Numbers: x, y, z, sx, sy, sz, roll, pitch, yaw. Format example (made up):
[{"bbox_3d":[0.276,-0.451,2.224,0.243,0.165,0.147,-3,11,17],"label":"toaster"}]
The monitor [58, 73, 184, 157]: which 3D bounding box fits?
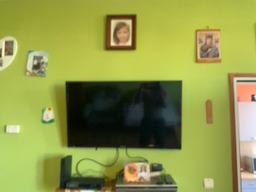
[{"bbox_3d":[-0.060,0.140,1.760,0.950,0.510,0.060,11,-8,6],"label":"monitor"}]
